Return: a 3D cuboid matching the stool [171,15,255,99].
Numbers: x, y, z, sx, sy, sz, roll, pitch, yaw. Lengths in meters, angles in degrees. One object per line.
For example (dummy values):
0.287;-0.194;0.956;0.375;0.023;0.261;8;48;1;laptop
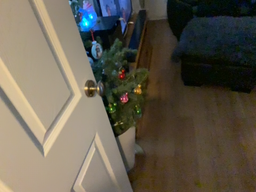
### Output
0.860;-0.390;1.950;0.780;0.460;0.630;8;44;22;stool
